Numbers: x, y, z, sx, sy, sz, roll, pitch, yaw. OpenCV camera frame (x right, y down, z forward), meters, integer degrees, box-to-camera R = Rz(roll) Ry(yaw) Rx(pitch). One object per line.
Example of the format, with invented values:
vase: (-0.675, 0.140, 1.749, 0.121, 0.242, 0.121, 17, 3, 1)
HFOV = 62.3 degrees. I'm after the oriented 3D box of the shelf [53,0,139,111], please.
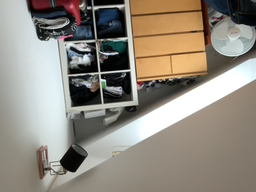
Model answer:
shelf: (-0.370, -0.620, 2.530, 0.800, 1.480, 0.490, -6, -178, -4)
